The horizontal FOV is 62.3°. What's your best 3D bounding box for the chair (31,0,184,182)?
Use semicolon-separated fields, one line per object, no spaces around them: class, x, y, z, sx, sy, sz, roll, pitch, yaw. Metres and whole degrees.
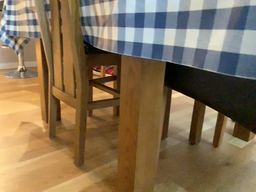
chair;-0.090;-0.230;0.980;0.540;0.990;0.380;-12;23;-38
